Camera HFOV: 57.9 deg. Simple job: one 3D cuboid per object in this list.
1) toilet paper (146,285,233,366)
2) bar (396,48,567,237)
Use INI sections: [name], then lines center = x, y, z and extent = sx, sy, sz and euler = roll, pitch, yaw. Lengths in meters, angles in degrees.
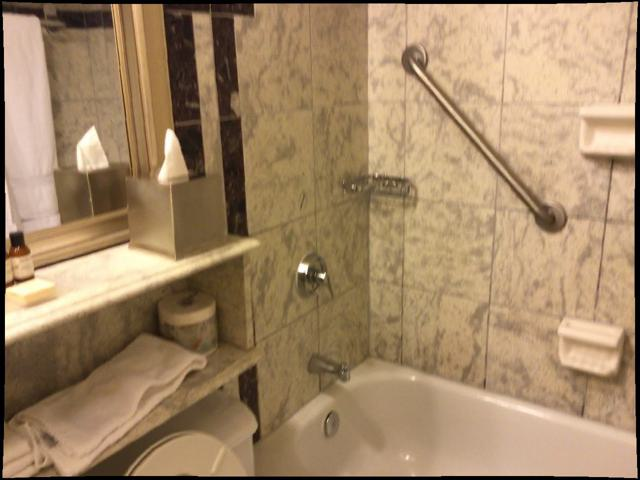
[toilet paper]
center = -0.280, 0.180, 1.250
extent = 0.120, 0.110, 0.120
euler = 10, 23, 34
[bar]
center = 0.460, -0.290, 1.670
extent = 0.060, 0.660, 0.060
euler = -27, -14, -50
